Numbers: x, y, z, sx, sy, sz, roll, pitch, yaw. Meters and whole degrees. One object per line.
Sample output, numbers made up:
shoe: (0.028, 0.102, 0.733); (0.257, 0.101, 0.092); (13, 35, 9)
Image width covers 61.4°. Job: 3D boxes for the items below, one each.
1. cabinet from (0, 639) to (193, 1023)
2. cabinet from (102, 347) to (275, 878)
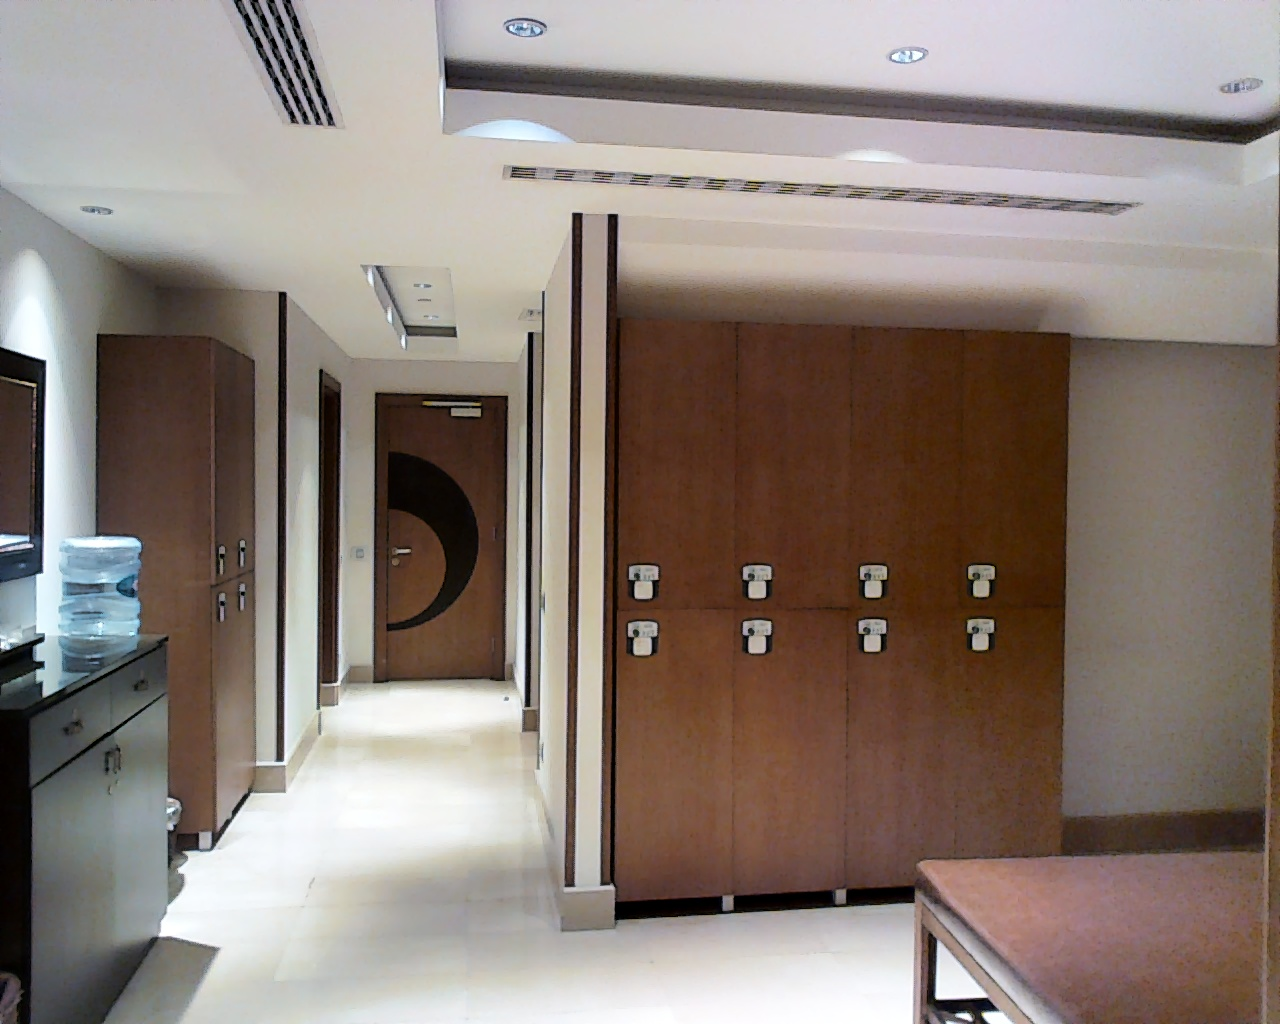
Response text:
cabinet: (-1.710, 0.990, 3.060); (0.530, 1.090, 1.260); (0, 1, -9)
cabinet: (-2.020, 0.410, 4.910); (0.520, 2.180, 0.920); (0, 1, -9)
